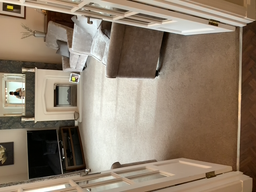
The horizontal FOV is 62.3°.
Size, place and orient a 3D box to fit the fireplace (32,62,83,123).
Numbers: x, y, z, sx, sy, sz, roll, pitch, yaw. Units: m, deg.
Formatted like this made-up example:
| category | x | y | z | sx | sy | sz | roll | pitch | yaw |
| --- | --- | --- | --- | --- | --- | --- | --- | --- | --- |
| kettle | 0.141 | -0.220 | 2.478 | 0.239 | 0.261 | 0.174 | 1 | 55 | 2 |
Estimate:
| category | x | y | z | sx | sy | sz | roll | pitch | yaw |
| --- | --- | --- | --- | --- | --- | --- | --- | --- | --- |
| fireplace | -1.970 | -0.090 | 5.810 | 1.190 | 1.130 | 1.460 | 1 | 91 | 61 |

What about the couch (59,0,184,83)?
| category | x | y | z | sx | sy | sz | roll | pitch | yaw |
| --- | --- | --- | --- | --- | --- | --- | --- | --- | --- |
| couch | -0.270 | -0.970 | 2.880 | 1.760 | 0.910 | 1.070 | 39 | 124 | 55 |

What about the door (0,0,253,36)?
| category | x | y | z | sx | sy | sz | roll | pitch | yaw |
| --- | --- | --- | --- | --- | --- | --- | --- | --- | --- |
| door | -0.110 | -0.620 | 1.490 | 0.840 | 1.920 | 0.080 | 20 | 107 | 60 |

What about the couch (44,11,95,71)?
| category | x | y | z | sx | sy | sz | roll | pitch | yaw |
| --- | --- | --- | --- | --- | --- | --- | --- | --- | --- |
| couch | -1.430 | -1.270 | 5.030 | 0.820 | 0.910 | 0.980 | -49 | 48 | 50 |

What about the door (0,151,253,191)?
| category | x | y | z | sx | sy | sz | roll | pitch | yaw |
| --- | --- | --- | --- | --- | --- | --- | --- | --- | --- |
| door | -0.140 | 0.630 | 1.420 | 0.730 | 2.050 | 0.090 | 3 | 93 | 61 |
